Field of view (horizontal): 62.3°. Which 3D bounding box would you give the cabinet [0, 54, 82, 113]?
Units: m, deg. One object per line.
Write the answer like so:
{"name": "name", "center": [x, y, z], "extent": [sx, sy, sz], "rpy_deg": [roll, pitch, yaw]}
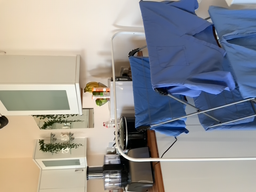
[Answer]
{"name": "cabinet", "center": [-0.820, -0.090, 1.910], "extent": [0.510, 0.770, 0.280], "rpy_deg": [105, 163, -57]}

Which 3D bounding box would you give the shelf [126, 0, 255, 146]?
{"name": "shelf", "center": [0.790, -0.200, 1.480], "extent": [0.750, 1.470, 0.830], "rpy_deg": [105, 163, -57]}

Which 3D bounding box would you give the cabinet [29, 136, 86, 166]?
{"name": "cabinet", "center": [-1.100, 0.900, 3.450], "extent": [0.490, 0.790, 0.310], "rpy_deg": [105, 163, -57]}
